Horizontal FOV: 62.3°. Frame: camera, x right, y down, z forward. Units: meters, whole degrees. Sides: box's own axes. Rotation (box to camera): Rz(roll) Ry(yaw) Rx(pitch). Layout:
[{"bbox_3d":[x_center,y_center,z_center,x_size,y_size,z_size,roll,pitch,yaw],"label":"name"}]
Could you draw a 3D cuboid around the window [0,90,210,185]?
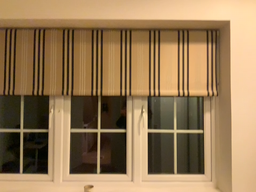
[{"bbox_3d":[-0.250,0.300,1.580,1.690,0.680,0.090,0,-2,-1],"label":"window"}]
